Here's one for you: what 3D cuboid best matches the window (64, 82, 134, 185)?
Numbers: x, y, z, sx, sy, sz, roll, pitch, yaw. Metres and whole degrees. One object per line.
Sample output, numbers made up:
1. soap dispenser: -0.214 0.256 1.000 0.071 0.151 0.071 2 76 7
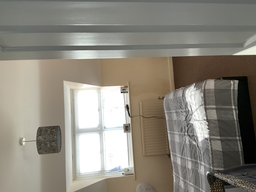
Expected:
1. window: -0.570 0.680 4.150 0.250 1.230 1.850 139 127 -79
